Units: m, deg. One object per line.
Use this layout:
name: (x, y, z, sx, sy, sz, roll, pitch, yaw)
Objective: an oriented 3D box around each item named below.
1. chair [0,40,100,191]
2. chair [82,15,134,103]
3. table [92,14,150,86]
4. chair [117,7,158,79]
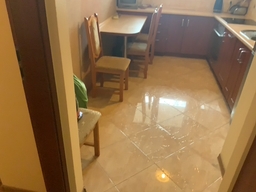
chair: (-0.510, 0.160, 1.530, 0.490, 0.980, 0.430, 8, 30, 8)
chair: (-0.230, -0.460, 2.660, 0.500, 0.950, 0.420, 8, 30, 8)
table: (-0.050, -0.870, 3.600, 0.610, 0.750, 1.470, 9, 30, 9)
chair: (0.140, -0.820, 3.300, 0.520, 0.980, 0.390, 7, 30, 6)
